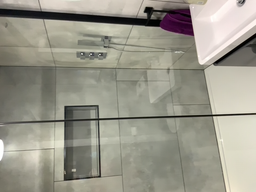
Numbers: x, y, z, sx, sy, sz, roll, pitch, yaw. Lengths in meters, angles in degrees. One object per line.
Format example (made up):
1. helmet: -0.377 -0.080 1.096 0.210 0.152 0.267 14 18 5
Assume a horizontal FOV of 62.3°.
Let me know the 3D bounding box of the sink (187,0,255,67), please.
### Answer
1. sink: 0.520 -0.450 1.070 0.590 0.110 0.410 131 136 -70
